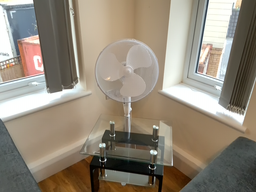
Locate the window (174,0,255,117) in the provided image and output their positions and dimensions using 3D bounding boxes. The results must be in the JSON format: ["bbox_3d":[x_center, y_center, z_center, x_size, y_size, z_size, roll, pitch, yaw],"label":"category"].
[{"bbox_3d":[0.630,-0.700,1.350,0.070,1.650,0.590,-19,33,-33],"label":"window"}]

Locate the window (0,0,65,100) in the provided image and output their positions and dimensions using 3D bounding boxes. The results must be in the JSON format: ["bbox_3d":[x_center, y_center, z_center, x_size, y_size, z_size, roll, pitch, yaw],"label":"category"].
[{"bbox_3d":[-0.820,-0.780,1.390,0.580,1.630,0.130,-20,34,-34],"label":"window"}]

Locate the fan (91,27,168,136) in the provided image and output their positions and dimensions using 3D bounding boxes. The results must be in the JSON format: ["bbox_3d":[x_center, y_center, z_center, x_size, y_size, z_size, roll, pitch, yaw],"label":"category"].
[{"bbox_3d":[-0.020,-0.120,1.570,0.450,0.670,0.420,-3,28,-8],"label":"fan"}]

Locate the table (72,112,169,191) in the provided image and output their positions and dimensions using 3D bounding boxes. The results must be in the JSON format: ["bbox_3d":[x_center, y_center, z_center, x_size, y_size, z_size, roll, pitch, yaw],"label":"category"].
[{"bbox_3d":[-0.030,0.440,1.570,0.580,0.410,0.500,2,28,4],"label":"table"}]
